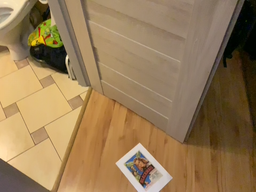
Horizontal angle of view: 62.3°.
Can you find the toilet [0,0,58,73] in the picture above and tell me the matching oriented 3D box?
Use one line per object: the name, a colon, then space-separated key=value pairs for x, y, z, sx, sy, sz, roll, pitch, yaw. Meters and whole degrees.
toilet: x=-0.990 y=-0.720 z=1.710 sx=0.400 sy=0.810 sz=0.660 roll=6 pitch=55 yaw=7
